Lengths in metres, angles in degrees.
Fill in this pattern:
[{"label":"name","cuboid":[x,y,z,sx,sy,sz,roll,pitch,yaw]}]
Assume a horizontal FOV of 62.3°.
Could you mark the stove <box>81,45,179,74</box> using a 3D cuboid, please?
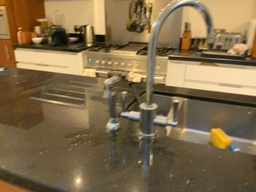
[{"label":"stove","cuboid":[0.050,-0.460,2.500,0.980,0.140,0.650,9,22,18]}]
